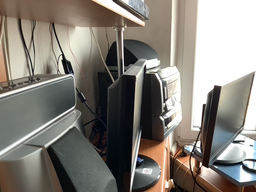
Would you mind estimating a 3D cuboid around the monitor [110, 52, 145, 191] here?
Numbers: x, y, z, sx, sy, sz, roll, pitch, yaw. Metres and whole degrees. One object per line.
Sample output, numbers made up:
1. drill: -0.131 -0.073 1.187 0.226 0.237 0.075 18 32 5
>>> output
1. monitor: 0.020 0.070 0.670 0.030 0.350 0.470 0 19 8
